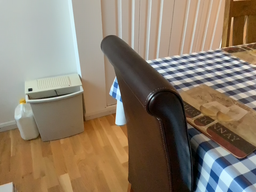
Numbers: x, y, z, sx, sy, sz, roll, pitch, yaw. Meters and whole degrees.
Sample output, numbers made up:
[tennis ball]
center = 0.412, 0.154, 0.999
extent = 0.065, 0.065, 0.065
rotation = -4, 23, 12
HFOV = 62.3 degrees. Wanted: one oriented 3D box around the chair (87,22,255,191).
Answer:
[chair]
center = 0.250, 0.300, 0.860
extent = 0.620, 1.010, 0.480
rotation = -14, 35, -21
